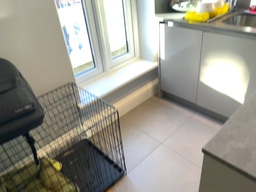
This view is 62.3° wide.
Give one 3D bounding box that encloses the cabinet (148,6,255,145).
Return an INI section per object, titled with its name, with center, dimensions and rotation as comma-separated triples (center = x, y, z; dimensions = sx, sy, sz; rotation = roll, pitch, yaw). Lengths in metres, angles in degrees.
[cabinet]
center = 0.850, -0.290, 2.050
dimensions = 0.600, 0.900, 1.160
rotation = -31, 41, -33

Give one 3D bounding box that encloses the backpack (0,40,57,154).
[backpack]
center = -0.720, 0.020, 1.180
dimensions = 0.350, 0.490, 0.270
rotation = -37, 11, -32
